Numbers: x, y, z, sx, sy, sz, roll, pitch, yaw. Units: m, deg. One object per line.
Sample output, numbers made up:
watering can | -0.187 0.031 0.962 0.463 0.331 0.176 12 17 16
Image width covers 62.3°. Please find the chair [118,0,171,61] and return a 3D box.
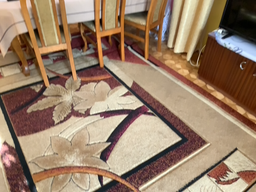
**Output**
chair | 0.180 -0.990 2.530 0.480 0.960 0.370 32 50 29

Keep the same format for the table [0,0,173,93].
table | -0.580 -0.930 2.560 1.970 0.760 1.010 -21 47 -24

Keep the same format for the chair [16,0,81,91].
chair | -0.770 -0.610 2.050 0.370 0.960 0.490 -19 46 -23

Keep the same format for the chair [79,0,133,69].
chair | -0.250 -0.880 2.380 0.410 0.960 0.480 -20 46 -23
